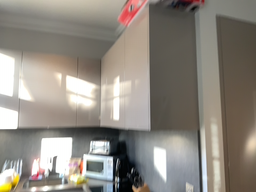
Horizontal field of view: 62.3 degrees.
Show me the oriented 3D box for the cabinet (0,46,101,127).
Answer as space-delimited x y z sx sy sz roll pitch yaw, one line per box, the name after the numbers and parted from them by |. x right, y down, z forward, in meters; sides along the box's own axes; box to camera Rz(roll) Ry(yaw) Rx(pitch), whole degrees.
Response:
-1.080 -0.070 2.490 1.460 0.850 0.400 2 -7 -21 | cabinet
